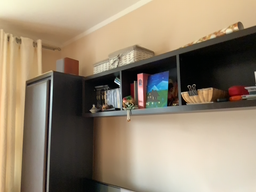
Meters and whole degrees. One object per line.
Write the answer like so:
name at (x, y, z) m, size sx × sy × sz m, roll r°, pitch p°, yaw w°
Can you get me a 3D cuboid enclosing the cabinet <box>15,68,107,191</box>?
cabinet at (-0.640, 0.810, 1.990) m, size 0.560 × 1.970 × 0.700 m, roll 6°, pitch -10°, yaw -44°
